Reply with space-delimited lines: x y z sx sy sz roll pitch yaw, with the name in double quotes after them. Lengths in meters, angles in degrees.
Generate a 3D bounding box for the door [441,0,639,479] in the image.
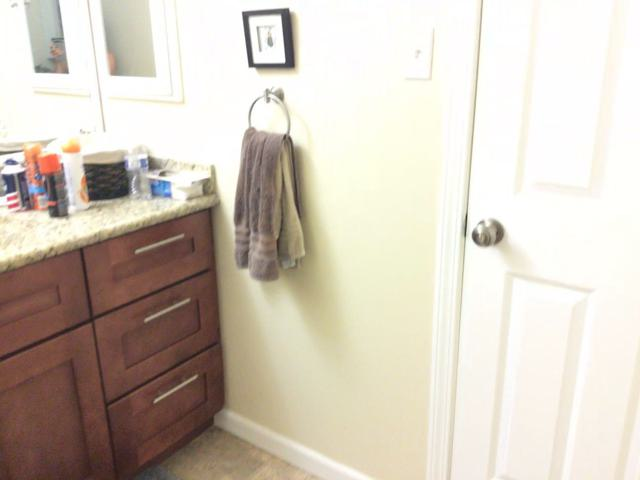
0.660 -0.050 1.110 0.850 2.050 0.080 10 20 35 "door"

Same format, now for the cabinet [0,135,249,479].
-1.000 0.380 1.480 0.550 1.080 1.680 10 20 35 "cabinet"
